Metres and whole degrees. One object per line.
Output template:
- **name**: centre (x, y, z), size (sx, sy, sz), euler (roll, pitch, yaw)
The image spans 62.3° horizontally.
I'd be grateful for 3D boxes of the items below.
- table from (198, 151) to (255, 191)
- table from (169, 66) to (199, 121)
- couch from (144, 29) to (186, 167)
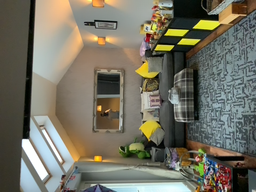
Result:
- **table**: centre (1.140, 0.960, 2.300), size (0.670, 0.470, 0.580), euler (150, 122, -82)
- **table**: centre (1.040, -0.020, 4.040), size (0.660, 0.330, 0.950), euler (144, 127, -82)
- **couch**: centre (0.790, 0.060, 4.910), size (1.200, 0.630, 2.780), euler (144, 127, -82)
